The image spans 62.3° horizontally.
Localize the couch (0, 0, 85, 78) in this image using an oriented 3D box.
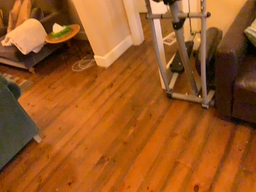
[{"bbox_3d":[-2.010,-1.160,3.640,2.190,0.830,1.120,16,49,34],"label":"couch"}]
